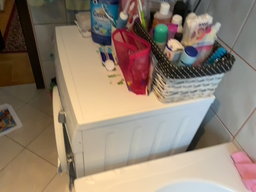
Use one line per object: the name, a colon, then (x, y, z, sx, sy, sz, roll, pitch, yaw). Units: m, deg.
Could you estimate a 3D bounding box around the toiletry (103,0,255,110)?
toiletry: (0.160, -0.190, 0.760, 0.420, 0.210, 0.390, -7, 46, -16)
